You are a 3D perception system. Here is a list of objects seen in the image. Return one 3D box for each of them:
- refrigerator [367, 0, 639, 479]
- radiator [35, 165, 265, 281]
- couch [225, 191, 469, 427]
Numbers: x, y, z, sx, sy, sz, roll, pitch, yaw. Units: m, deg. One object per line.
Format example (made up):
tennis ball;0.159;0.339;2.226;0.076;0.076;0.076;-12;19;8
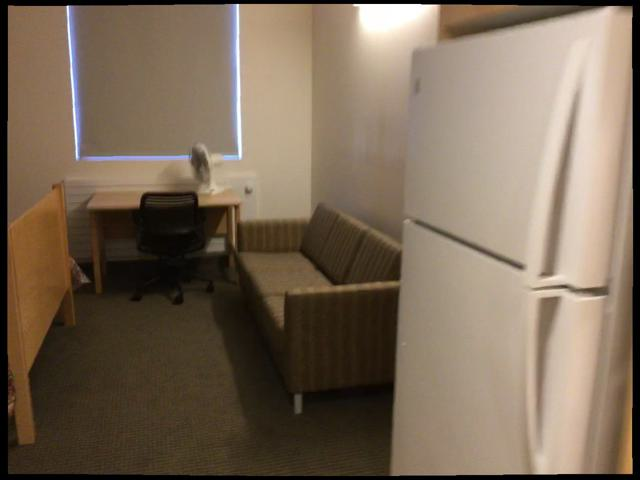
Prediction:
refrigerator;0.389;0.341;1.510;0.220;1.703;0.870;-4;14;-15
radiator;-1.507;-0.180;5.370;1.947;0.932;0.230;-4;14;-15
couch;0.000;0.250;3.780;0.958;0.801;2.040;-4;14;-15
